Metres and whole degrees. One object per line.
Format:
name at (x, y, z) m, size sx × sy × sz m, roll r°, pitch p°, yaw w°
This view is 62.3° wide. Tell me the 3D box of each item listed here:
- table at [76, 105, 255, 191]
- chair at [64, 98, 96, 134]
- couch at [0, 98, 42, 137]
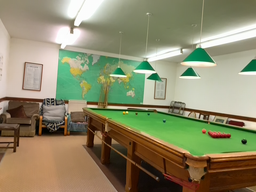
table at (0.540, 0.790, 3.470) m, size 2.010 × 0.860 × 3.710 m, roll 4°, pitch 1°, yaw -24°
chair at (-1.390, 0.550, 6.060) m, size 0.710 × 0.920 × 0.780 m, roll 4°, pitch 1°, yaw -24°
couch at (-2.690, 0.510, 5.350) m, size 0.890 × 0.810 × 0.980 m, roll 4°, pitch 1°, yaw -24°
